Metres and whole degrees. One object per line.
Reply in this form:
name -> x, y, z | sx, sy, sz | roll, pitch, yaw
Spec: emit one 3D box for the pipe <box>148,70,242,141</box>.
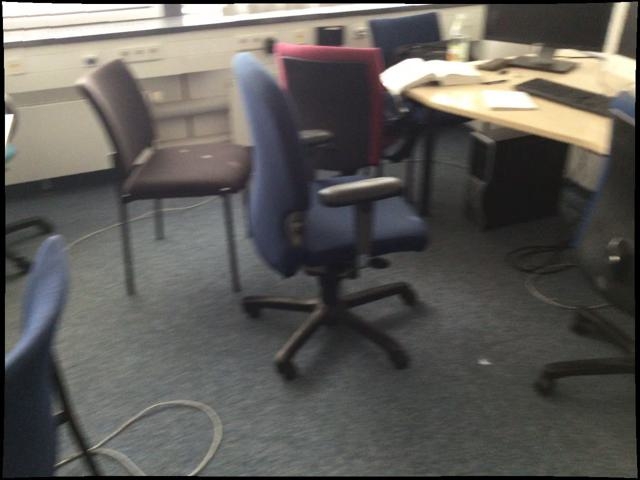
pipe -> -0.699, -0.761, 3.260 | 0.450, 0.280, 0.210 | -13, 33, -17
